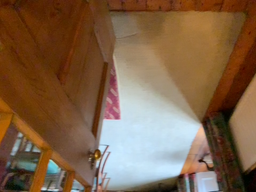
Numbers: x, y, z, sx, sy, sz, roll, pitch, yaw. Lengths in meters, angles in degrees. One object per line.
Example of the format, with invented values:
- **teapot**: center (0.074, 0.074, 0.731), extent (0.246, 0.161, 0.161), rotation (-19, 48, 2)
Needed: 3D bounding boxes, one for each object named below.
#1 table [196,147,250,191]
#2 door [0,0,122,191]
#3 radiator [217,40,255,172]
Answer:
- **table**: center (1.370, 1.200, 3.180), extent (0.490, 0.640, 0.630), rotation (-2, 143, 6)
- **door**: center (-0.210, 0.140, 0.710), extent (0.050, 2.100, 0.880), rotation (-6, 142, 12)
- **radiator**: center (0.980, 0.150, 1.740), extent (0.100, 0.610, 1.030), rotation (-1, 143, 4)
